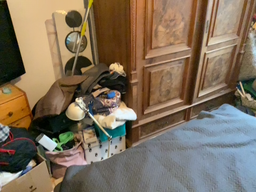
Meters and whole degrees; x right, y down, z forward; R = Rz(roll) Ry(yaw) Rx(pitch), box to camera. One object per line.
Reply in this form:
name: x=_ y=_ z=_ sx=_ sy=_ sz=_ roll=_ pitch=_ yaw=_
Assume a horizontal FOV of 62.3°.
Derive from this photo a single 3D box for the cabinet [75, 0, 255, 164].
cabinet: x=0.510 y=-0.710 z=2.160 sx=1.770 sy=2.070 sz=0.980 roll=-17 pitch=35 yaw=-25
